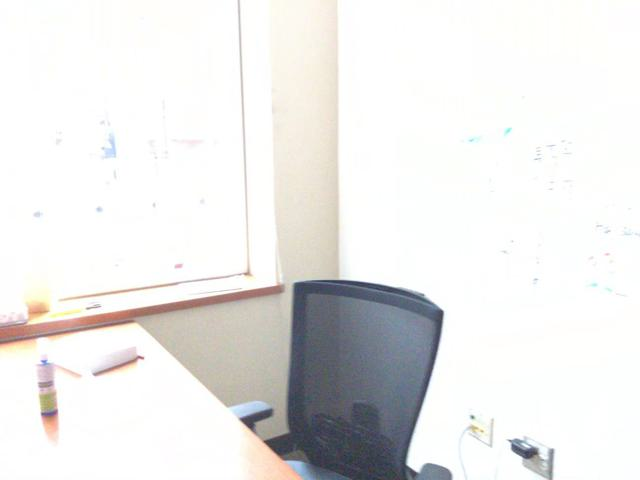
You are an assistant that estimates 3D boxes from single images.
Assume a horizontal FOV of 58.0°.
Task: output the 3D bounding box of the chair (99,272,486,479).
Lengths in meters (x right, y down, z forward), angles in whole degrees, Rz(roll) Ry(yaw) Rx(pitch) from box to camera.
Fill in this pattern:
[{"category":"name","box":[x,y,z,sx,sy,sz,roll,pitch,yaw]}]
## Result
[{"category":"chair","box":[-0.010,0.670,1.460,0.710,1.010,0.660,4,10,22]}]
